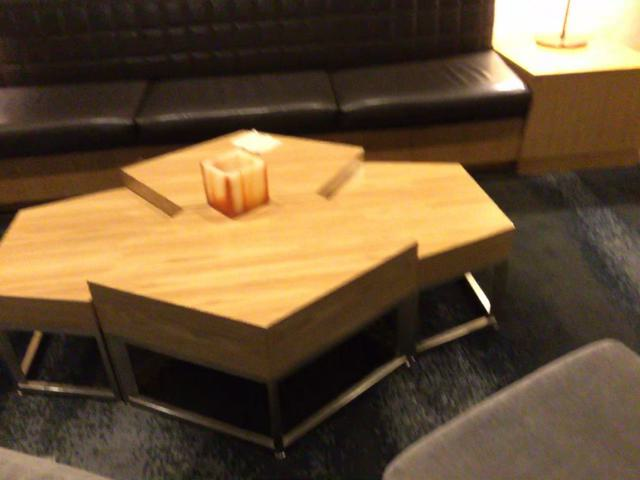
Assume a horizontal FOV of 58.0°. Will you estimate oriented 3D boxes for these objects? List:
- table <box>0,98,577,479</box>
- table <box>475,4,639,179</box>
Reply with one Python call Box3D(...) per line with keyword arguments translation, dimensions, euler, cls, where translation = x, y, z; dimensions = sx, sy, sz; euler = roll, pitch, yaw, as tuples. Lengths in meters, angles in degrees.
Box3D(translation=(-0.240, 0.070, 1.910), dimensions=(1.600, 0.500, 1.220), euler=(-7, 33, 1), cls="table")
Box3D(translation=(1.210, -0.760, 2.830), dimensions=(0.650, 0.520, 0.850), euler=(-7, 33, 1), cls="table")
